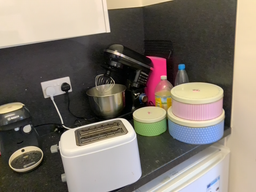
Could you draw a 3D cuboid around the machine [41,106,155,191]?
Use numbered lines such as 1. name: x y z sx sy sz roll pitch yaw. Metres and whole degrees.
1. machine: -0.100 0.200 0.740 0.310 0.200 0.210 -17 22 -27
